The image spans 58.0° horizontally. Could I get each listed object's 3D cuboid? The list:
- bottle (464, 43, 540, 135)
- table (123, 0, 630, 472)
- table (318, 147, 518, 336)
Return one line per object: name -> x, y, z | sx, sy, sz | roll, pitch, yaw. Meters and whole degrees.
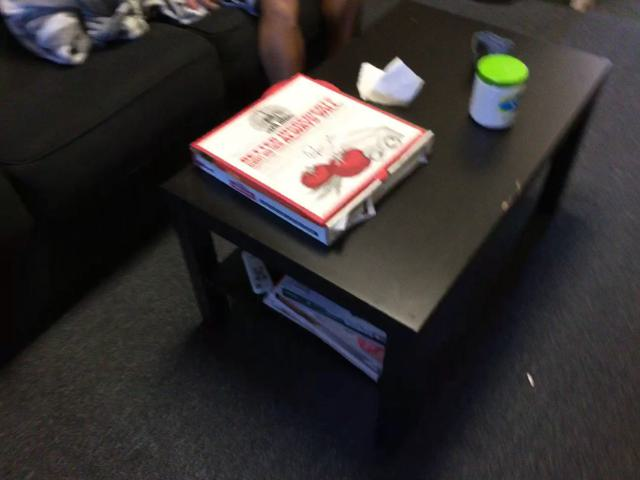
bottle -> 0.360, -0.300, 1.150 | 0.090, 0.120, 0.110 | 25, 53, 22
table -> 0.180, -0.130, 1.330 | 0.610, 0.530, 0.940 | 25, 53, 22
table -> 0.180, -0.020, 0.990 | 0.190, 0.010, 0.380 | 25, 53, 22
